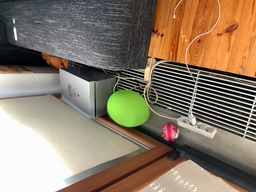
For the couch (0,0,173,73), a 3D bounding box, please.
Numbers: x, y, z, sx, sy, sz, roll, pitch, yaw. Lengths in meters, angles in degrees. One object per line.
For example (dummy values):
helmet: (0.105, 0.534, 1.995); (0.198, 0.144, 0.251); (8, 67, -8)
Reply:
couch: (-0.350, -0.740, 1.340); (1.250, 0.430, 0.940); (20, 108, 38)
